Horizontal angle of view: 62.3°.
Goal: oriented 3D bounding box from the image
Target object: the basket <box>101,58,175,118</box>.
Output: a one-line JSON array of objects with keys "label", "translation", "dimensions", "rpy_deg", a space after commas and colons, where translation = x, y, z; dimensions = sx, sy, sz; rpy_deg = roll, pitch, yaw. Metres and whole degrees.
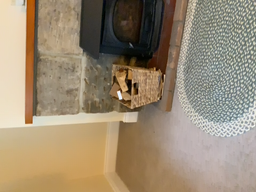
[{"label": "basket", "translation": [0.060, -0.070, 1.600], "dimensions": [0.340, 0.400, 0.360], "rpy_deg": [29, 115, 59]}]

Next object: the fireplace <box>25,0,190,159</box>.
[{"label": "fireplace", "translation": [-0.140, -0.550, 1.410], "dimensions": [0.510, 0.940, 1.710], "rpy_deg": [26, 112, 60]}]
